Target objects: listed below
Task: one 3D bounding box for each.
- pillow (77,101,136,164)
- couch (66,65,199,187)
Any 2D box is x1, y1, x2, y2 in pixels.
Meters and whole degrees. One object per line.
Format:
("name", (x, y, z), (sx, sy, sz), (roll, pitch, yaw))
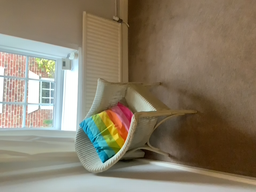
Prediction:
("pillow", (-0.160, 0.280, 1.770), (0.490, 0.410, 0.200), (-94, -3, -58))
("couch", (0.000, 0.230, 1.870), (0.650, 0.760, 0.680), (47, 122, 44))
